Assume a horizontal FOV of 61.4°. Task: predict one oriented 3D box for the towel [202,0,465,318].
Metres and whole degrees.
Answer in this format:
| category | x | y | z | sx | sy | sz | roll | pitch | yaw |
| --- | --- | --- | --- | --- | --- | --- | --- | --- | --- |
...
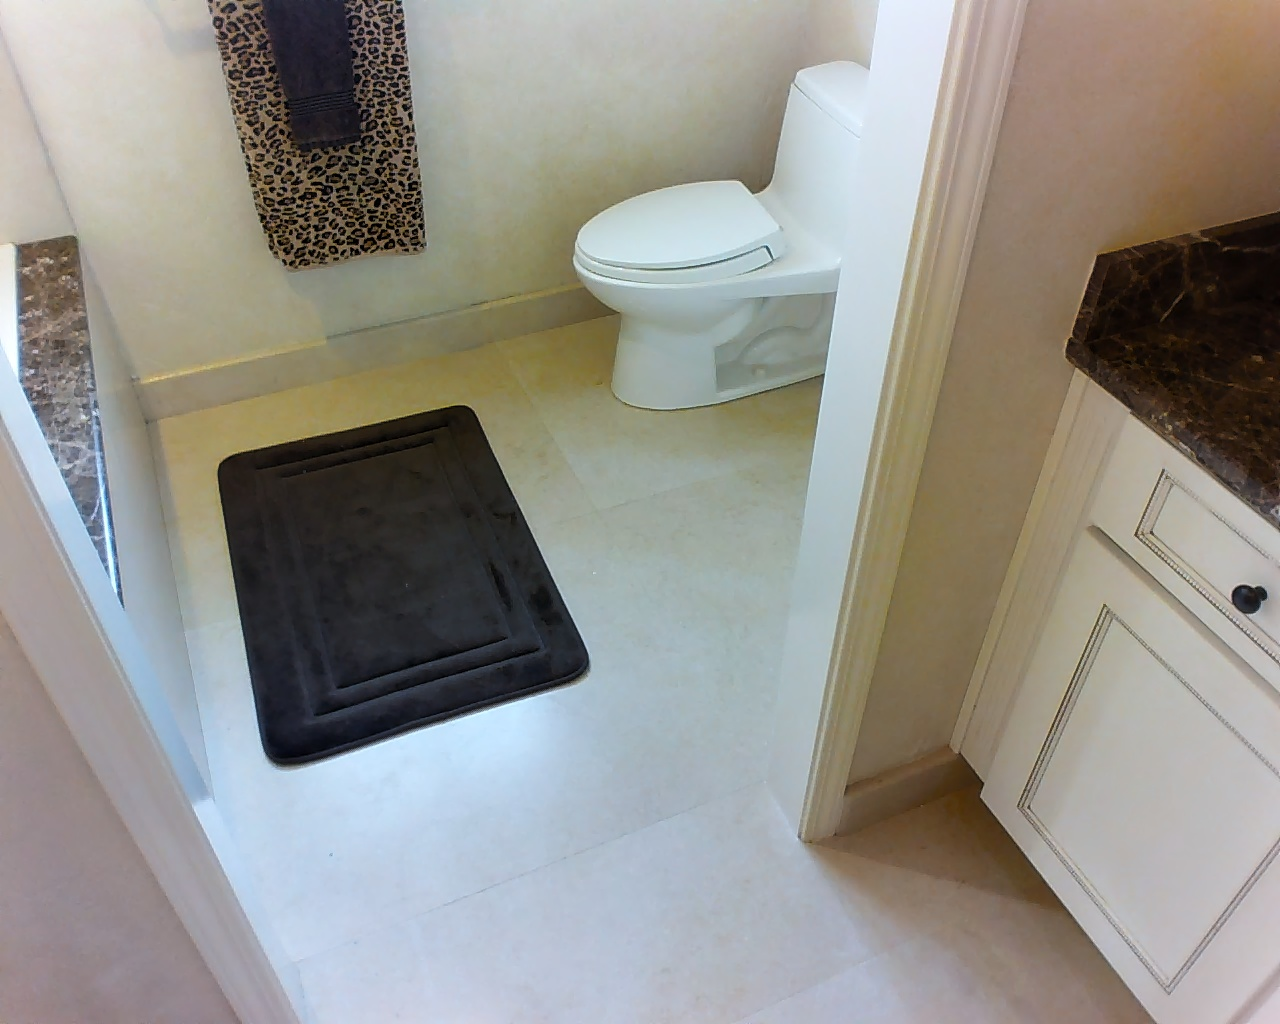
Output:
| category | x | y | z | sx | sy | sz | roll | pitch | yaw |
| --- | --- | --- | --- | --- | --- | --- | --- | --- | --- |
| towel | -0.640 | -0.820 | 2.310 | 0.420 | 0.740 | 0.160 | -16 | 44 | -17 |
